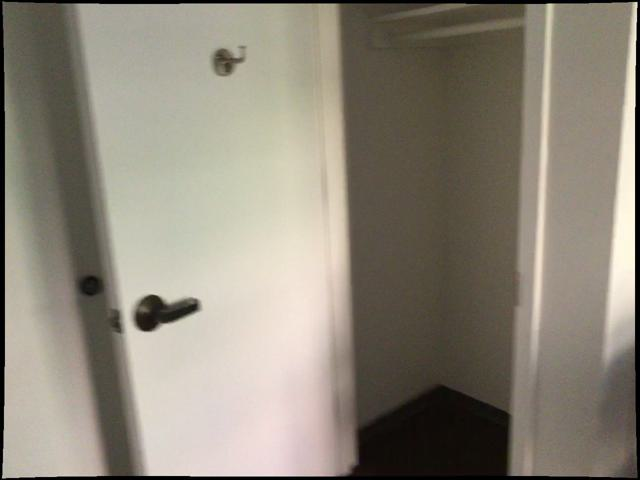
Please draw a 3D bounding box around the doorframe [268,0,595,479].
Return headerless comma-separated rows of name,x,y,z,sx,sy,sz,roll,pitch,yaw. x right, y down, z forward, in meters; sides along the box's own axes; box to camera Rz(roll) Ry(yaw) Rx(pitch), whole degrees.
doorframe,0.279,-0.010,1.720,0.250,2.005,0.919,-16,18,-36
